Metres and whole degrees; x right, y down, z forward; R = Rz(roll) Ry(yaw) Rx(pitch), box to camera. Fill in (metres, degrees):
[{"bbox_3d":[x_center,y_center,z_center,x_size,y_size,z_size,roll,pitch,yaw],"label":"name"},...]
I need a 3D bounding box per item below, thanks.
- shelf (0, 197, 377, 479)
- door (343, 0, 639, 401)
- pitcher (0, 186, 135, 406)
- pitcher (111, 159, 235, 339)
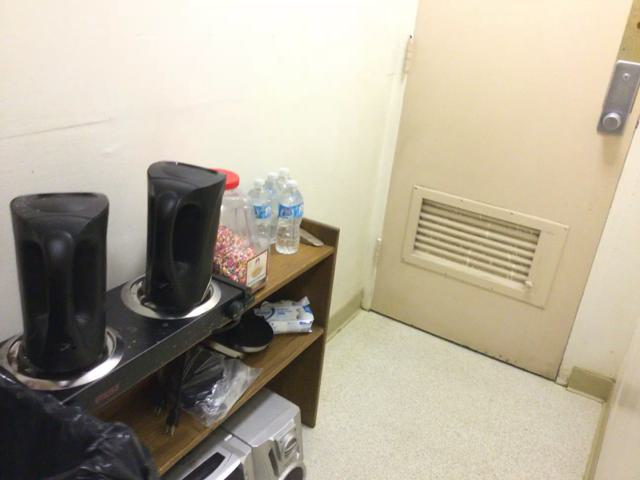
[{"bbox_3d":[-0.290,0.410,1.400,0.320,0.760,1.040,19,26,26],"label":"shelf"},{"bbox_3d":[0.630,-0.390,2.050,0.880,1.810,0.200,19,26,26],"label":"door"},{"bbox_3d":[-0.380,0.080,0.880,0.120,0.280,0.140,19,26,26],"label":"pitcher"},{"bbox_3d":[-0.270,0.010,1.070,0.130,0.270,0.170,19,26,26],"label":"pitcher"}]
